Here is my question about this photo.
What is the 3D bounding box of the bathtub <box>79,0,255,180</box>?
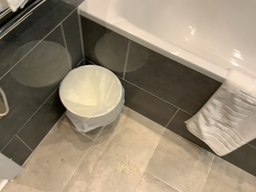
[{"bbox_3d":[0.670,-0.050,1.090,1.670,0.560,0.680,28,61,8],"label":"bathtub"}]

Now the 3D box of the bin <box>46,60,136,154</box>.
[{"bbox_3d":[-0.170,0.060,1.060,0.280,0.260,0.290,28,61,8],"label":"bin"}]
